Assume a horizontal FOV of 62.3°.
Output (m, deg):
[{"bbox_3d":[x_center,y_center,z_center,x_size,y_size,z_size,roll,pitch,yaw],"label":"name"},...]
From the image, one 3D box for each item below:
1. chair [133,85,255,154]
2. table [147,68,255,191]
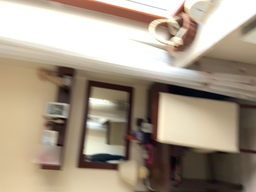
[{"bbox_3d":[0.600,0.230,1.770,0.540,0.980,0.410,150,126,-72],"label":"chair"},{"bbox_3d":[0.650,0.360,2.050,0.610,0.720,1.000,140,136,-69],"label":"table"}]
